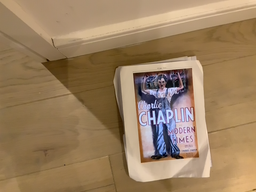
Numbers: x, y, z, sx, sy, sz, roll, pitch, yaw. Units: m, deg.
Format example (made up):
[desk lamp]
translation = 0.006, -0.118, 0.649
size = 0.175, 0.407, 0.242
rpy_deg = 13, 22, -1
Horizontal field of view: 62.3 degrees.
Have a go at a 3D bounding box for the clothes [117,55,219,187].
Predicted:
[clothes]
translation = 0.100, 0.060, 0.540
size = 0.220, 0.030, 0.300
rpy_deg = -8, 90, -4
